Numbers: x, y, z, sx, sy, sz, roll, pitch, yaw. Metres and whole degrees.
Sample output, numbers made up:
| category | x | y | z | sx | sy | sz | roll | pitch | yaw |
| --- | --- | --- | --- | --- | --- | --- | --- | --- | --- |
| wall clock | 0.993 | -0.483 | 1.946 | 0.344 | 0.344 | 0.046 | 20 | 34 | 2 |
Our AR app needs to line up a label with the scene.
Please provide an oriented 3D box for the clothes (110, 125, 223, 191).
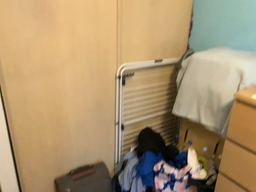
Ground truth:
| category | x | y | z | sx | sy | sz | roll | pitch | yaw |
| --- | --- | --- | --- | --- | --- | --- | --- | --- | --- |
| clothes | 0.250 | 0.710 | 1.690 | 0.530 | 0.630 | 0.640 | -12 | 25 | -33 |
